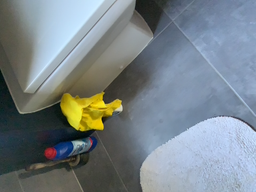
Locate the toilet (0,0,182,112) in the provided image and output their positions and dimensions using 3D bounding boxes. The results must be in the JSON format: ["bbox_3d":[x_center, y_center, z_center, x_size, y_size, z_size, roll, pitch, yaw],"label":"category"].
[{"bbox_3d":[-0.170,-0.240,0.810,0.520,0.460,0.360,-41,69,22],"label":"toilet"}]
